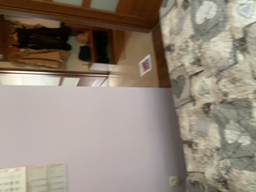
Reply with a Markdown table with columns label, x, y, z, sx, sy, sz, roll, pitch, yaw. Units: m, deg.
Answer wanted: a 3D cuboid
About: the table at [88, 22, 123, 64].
| label | x | y | z | sx | sy | sz | roll | pitch | yaw |
| --- | --- | --- | --- | --- | --- | --- | --- | --- | --- |
| table | -0.420 | -0.960 | 3.910 | 0.300 | 0.530 | 0.640 | 157 | 110 | -64 |
